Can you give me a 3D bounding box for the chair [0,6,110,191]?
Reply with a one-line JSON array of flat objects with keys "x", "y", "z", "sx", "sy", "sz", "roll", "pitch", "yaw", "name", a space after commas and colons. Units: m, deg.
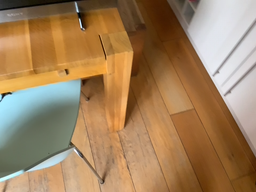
[{"x": -0.400, "y": 0.120, "z": 0.950, "sx": 0.460, "sy": 0.720, "sz": 0.510, "roll": -23, "pitch": 67, "yaw": -16, "name": "chair"}]
